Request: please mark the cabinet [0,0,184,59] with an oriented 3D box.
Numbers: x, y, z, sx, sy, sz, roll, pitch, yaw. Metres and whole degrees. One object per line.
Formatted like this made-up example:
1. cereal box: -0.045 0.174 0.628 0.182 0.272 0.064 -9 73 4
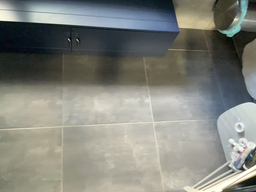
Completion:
1. cabinet: -0.390 -0.500 1.410 0.320 1.460 0.330 121 146 -63
